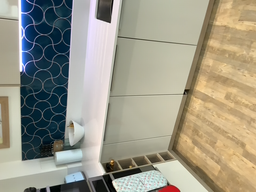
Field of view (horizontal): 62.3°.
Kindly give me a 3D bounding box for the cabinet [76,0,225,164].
[{"bbox_3d":[0.180,-0.650,1.820,0.640,0.910,2.370,43,128,53],"label":"cabinet"}]
